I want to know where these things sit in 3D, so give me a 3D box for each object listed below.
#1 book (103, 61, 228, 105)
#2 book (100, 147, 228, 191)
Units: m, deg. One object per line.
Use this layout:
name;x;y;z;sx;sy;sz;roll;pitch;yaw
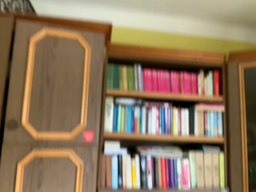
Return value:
book;0.290;-0.080;1.710;0.930;0.210;0.320;5;-10;-12
book;0.240;0.540;1.580;0.860;0.250;0.340;4;-9;-5
